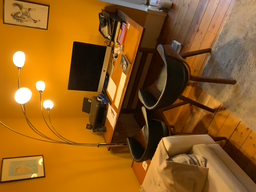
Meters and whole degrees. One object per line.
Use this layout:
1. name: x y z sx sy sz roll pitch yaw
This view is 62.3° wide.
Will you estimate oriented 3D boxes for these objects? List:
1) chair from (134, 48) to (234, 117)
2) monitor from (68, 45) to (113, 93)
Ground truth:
1. chair: 0.500 -0.140 2.000 0.500 0.680 0.530 -154 68 -63
2. monitor: -0.480 -0.320 2.680 0.050 0.470 0.630 56 137 45
